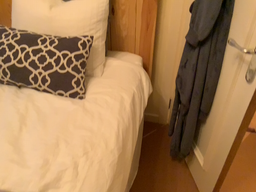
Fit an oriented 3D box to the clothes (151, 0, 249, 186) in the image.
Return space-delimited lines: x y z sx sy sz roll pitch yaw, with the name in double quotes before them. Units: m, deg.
"clothes" 0.320 -0.160 1.170 0.160 1.490 0.470 -4 35 -7
